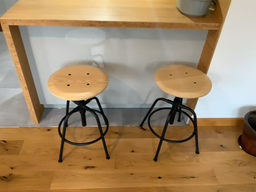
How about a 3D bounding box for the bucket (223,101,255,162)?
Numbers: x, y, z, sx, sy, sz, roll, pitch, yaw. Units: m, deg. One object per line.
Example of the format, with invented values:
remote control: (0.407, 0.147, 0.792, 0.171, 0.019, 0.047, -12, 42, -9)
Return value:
bucket: (0.980, 0.260, 1.620, 0.270, 0.250, 0.390, 0, 40, -6)
